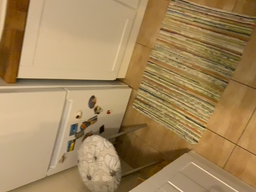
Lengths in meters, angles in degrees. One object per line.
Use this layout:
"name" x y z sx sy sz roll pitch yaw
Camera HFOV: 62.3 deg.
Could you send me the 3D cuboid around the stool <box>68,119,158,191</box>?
"stool" -0.090 0.400 1.480 0.310 0.500 0.300 30 111 31
